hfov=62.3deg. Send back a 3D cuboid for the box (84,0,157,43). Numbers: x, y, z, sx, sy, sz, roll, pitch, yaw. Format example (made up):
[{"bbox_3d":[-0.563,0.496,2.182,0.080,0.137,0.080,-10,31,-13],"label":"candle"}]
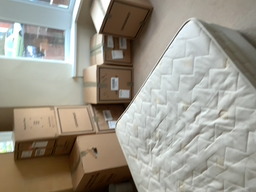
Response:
[{"bbox_3d":[-0.120,-1.080,2.550,0.570,0.570,0.540,-55,45,43],"label":"box"}]

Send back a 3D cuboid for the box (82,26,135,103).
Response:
[{"bbox_3d":[-0.270,-0.380,2.800,0.470,0.500,0.890,11,99,58],"label":"box"}]
